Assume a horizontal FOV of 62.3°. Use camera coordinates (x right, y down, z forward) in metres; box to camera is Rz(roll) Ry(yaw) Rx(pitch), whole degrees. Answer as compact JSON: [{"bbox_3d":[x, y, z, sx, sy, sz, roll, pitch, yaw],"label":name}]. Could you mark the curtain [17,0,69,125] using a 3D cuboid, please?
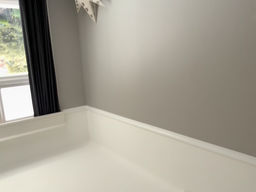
[{"bbox_3d":[-1.230,-0.860,3.010,0.440,2.510,0.210,-14,-164,-42],"label":"curtain"}]
